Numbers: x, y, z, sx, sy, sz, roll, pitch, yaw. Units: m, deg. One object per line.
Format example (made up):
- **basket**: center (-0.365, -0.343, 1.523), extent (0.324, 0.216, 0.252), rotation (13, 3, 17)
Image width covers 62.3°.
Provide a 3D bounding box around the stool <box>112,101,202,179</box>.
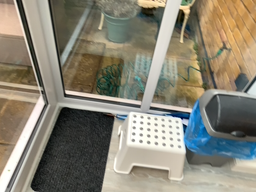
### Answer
- **stool**: center (0.160, 0.280, 1.350), extent (0.470, 0.280, 0.340), rotation (8, 48, -2)
